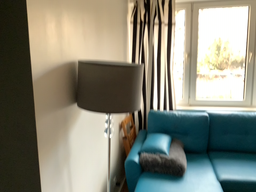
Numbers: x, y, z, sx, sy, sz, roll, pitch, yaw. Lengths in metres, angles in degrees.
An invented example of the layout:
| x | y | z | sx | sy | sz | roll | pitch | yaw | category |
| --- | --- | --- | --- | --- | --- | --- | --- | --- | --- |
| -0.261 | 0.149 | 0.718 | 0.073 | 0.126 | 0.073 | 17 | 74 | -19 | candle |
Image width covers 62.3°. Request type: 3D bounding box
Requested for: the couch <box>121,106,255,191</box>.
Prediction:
| x | y | z | sx | sy | sz | roll | pitch | yaw | category |
| --- | --- | --- | --- | --- | --- | --- | --- | --- | --- |
| 1.200 | 0.690 | 2.290 | 2.370 | 0.920 | 1.010 | 1 | 8 | 10 | couch |

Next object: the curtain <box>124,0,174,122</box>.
| x | y | z | sx | sy | sz | roll | pitch | yaw | category |
| --- | --- | --- | --- | --- | --- | --- | --- | --- | --- |
| 0.280 | -0.570 | 2.850 | 0.630 | 1.800 | 0.240 | 1 | 8 | 9 | curtain |

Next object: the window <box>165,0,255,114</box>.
| x | y | z | sx | sy | sz | roll | pitch | yaw | category |
| --- | --- | --- | --- | --- | --- | --- | --- | --- | --- |
| 1.290 | -0.570 | 2.890 | 1.530 | 1.610 | 0.190 | 1 | 8 | 10 | window |
